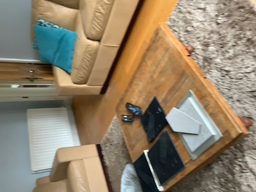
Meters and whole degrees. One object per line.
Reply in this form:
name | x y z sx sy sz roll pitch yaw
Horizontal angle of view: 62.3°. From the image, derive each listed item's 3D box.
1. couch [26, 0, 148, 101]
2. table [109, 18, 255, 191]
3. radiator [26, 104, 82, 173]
couch | -0.450 -1.080 2.040 2.180 0.810 1.090 -60 43 43
table | 0.260 0.120 1.380 0.870 0.300 0.780 -61 42 42
radiator | -1.290 0.660 3.640 0.120 0.740 1.160 -60 42 43
